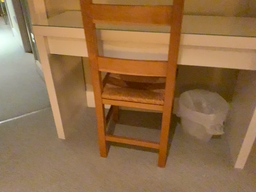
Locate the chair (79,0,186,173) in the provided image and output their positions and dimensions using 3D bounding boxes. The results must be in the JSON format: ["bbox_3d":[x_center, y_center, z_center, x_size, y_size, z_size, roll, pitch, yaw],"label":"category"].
[{"bbox_3d":[0.050,-0.080,1.200,0.410,0.940,0.410,7,32,11],"label":"chair"}]
